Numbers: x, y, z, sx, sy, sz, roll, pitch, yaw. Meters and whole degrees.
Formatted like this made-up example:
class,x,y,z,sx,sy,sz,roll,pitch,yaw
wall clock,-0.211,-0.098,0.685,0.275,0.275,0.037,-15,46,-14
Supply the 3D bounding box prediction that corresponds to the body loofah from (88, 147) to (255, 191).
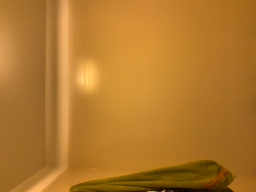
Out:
class,x,y,z,sx,sy,sz,roll,pitch,yaw
body loofah,0.340,0.470,1.190,0.250,1.090,0.240,-28,-61,-81
